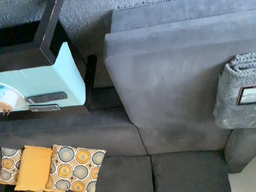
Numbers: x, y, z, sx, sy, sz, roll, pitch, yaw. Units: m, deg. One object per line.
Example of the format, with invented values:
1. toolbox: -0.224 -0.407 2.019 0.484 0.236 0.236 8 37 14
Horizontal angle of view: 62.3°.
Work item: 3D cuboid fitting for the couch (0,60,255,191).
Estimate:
1. couch: -0.160 0.510 2.000 2.390 0.790 1.120 -7 146 12
